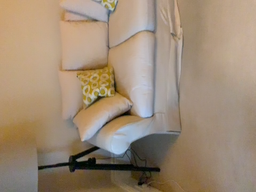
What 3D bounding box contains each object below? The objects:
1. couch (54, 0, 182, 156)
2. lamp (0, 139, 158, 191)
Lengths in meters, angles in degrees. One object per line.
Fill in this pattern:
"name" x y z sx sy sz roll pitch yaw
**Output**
"couch" -0.150 -0.530 2.110 0.930 0.900 1.950 -7 82 59
"lamp" -0.480 0.710 1.970 0.560 1.470 0.450 -6 83 59
